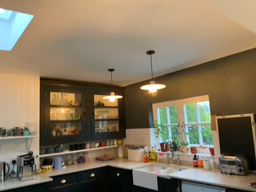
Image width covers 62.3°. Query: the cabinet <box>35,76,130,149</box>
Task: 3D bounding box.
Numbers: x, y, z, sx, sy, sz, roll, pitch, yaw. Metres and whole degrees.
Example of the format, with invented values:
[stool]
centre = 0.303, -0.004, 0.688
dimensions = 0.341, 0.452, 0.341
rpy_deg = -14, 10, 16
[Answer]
[cabinet]
centre = -0.790, 0.300, 4.030
dimensions = 1.770, 1.160, 0.340
rpy_deg = 3, -9, -38
